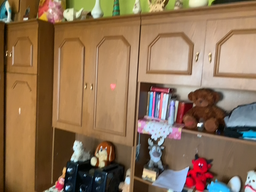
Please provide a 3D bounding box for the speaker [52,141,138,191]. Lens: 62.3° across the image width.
[{"bbox_3d":[-0.320,0.760,1.970,0.720,0.470,0.340,7,6,32],"label":"speaker"}]
